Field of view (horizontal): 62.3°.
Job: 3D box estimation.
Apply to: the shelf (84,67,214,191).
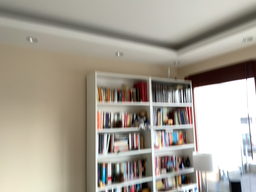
[{"bbox_3d":[0.380,0.910,2.870,1.890,2.410,0.300,2,-8,-31],"label":"shelf"}]
